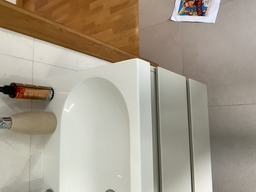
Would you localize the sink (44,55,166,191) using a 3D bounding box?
[{"bbox_3d":[-0.090,0.320,0.640,0.400,0.100,0.810,-5,83,35],"label":"sink"}]
